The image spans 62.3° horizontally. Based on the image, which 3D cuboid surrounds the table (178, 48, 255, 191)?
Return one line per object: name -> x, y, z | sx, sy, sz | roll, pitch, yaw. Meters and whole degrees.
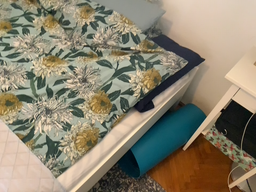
table -> 0.680, 0.170, 1.240 | 0.440, 0.700, 0.320 | 40, 54, 20
